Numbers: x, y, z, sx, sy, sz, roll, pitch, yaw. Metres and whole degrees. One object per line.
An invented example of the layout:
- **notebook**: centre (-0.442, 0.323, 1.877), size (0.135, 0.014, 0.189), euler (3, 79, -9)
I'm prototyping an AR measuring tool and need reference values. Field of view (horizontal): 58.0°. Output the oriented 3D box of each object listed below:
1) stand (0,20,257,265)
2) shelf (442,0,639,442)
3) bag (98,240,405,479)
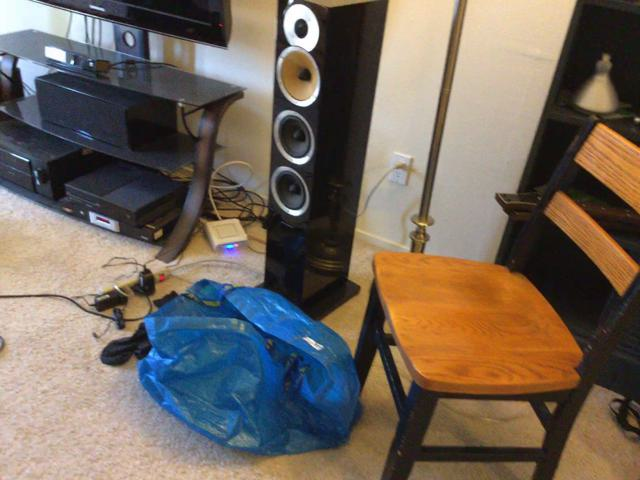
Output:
- **stand**: centre (-0.930, -0.450, 2.320), size (1.210, 0.620, 0.510), euler (17, 28, 19)
- **shelf**: centre (0.960, -0.310, 1.420), size (0.880, 1.630, 0.510), euler (17, 28, 19)
- **bag**: centre (-0.170, 0.300, 1.570), size (0.620, 0.270, 0.510), euler (19, 28, 22)
